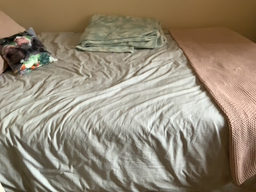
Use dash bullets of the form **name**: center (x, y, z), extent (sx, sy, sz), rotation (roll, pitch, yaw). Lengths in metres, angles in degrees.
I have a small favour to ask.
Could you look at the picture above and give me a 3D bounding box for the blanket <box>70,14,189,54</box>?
- **blanket**: center (0.000, -0.490, 1.620), extent (0.770, 0.130, 0.500), rotation (-3, 32, -2)
